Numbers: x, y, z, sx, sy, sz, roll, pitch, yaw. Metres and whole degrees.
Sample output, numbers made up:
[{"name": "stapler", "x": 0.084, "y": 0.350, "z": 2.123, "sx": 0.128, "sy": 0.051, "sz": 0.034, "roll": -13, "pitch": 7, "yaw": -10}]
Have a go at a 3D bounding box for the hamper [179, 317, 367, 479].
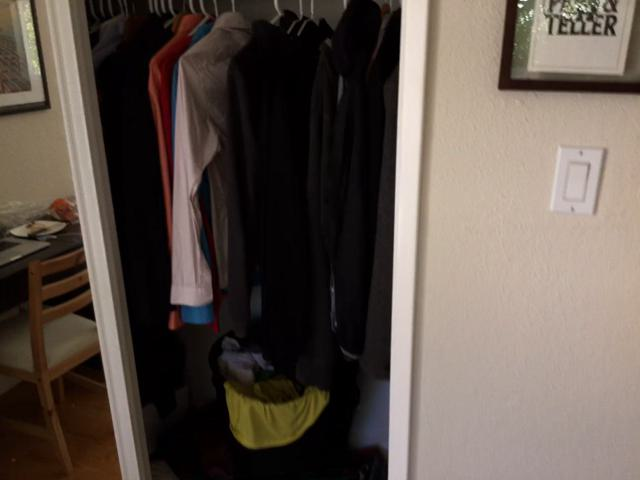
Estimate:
[{"name": "hamper", "x": -0.120, "y": 0.610, "z": 1.920, "sx": 0.510, "sy": 0.580, "sz": 0.390, "roll": 1, "pitch": 17, "yaw": 9}]
